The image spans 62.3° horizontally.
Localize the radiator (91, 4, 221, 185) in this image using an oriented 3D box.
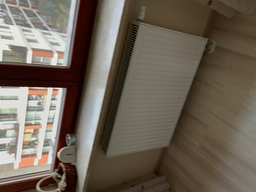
[{"bbox_3d":[0.180,0.060,1.560,0.160,0.660,1.220,40,121,47],"label":"radiator"}]
